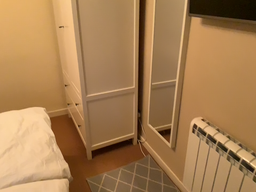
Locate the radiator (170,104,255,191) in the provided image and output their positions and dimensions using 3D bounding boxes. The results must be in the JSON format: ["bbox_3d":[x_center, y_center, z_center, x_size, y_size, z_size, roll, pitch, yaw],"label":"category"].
[{"bbox_3d":[0.540,0.510,1.290,0.090,0.630,0.810,-10,27,-19],"label":"radiator"}]
